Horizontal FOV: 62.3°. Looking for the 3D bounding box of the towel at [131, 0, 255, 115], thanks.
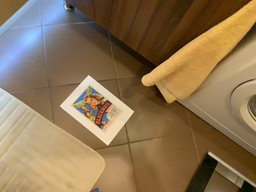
[{"bbox_3d":[0.190,-0.090,0.790,0.200,0.640,0.130,36,73,0],"label":"towel"}]
